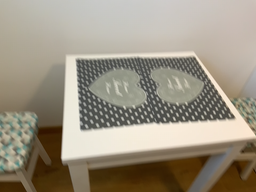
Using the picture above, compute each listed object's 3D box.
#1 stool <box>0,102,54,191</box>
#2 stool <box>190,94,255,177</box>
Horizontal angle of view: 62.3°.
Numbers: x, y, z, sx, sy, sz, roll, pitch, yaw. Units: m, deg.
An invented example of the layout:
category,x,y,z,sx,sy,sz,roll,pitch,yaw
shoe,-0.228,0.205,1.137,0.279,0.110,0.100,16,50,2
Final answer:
category,x,y,z,sx,sy,sz,roll,pitch,yaw
stool,-0.650,0.340,1.180,0.340,0.510,0.350,0,44,-9
stool,0.690,0.280,1.420,0.330,0.500,0.310,2,43,-6
